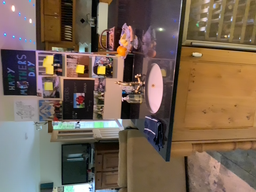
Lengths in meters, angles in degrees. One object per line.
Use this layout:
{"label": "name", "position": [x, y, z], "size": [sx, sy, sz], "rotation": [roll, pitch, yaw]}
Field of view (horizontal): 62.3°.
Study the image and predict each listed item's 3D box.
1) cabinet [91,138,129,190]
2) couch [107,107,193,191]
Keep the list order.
{"label": "cabinet", "position": [-0.520, 1.840, 5.820], "size": [0.530, 0.930, 1.190], "rotation": [-138, 50, -70]}
{"label": "couch", "position": [0.240, 1.510, 3.050], "size": [1.120, 0.900, 2.620], "rotation": [153, 117, -73]}
